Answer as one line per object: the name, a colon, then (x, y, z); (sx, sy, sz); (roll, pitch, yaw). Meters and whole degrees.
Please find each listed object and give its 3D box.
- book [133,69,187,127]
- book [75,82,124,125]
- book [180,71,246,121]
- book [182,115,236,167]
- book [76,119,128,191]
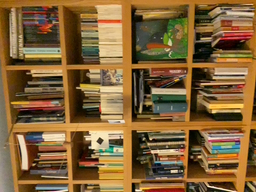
book: (0.220, 0.000, 1.580); (0.300, 0.350, 0.390); (-96, 5, -84)
book: (-0.190, 0.040, 1.580); (0.310, 0.320, 0.280); (-96, 5, -84)
book: (0.610, -0.020, 1.590); (0.340, 0.340, 0.320); (-94, 3, -80)
book: (0.600, 0.330, 1.630); (0.330, 0.270, 0.300); (-95, 4, -83)
book: (-0.180, 0.540, 1.630); (0.300, 0.350, 0.670); (-96, 5, -84)
